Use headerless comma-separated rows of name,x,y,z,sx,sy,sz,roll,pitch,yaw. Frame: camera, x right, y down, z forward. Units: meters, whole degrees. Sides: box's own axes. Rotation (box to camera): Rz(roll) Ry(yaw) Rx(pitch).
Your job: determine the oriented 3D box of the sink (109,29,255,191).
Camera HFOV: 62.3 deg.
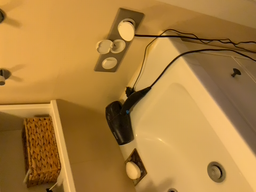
sink,0.210,0.260,0.640,0.480,0.130,0.830,-57,45,41
